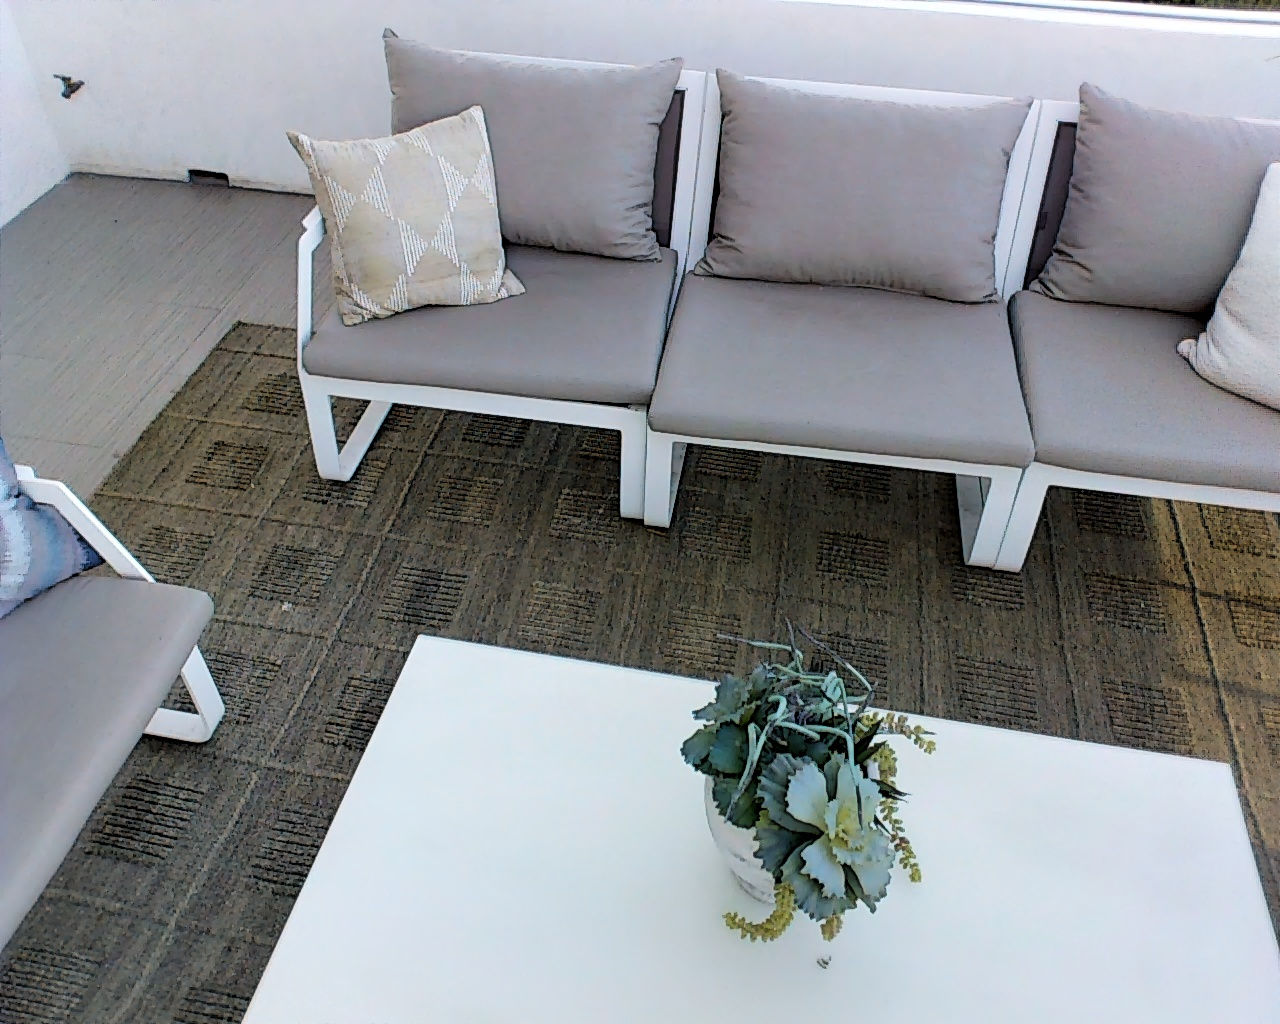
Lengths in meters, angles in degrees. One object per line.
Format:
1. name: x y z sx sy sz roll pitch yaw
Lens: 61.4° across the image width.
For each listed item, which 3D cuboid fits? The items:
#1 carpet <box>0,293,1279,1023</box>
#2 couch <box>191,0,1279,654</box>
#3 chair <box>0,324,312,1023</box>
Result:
1. carpet: 0.150 0.530 1.790 3.139 0.050 2.780 8 42 7
2. couch: 0.440 -0.440 2.270 2.310 0.820 0.850 8 42 8
3. chair: -1.110 0.270 1.490 0.880 0.760 0.830 9 42 8
